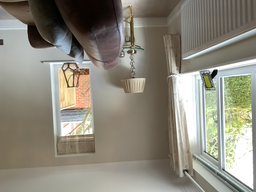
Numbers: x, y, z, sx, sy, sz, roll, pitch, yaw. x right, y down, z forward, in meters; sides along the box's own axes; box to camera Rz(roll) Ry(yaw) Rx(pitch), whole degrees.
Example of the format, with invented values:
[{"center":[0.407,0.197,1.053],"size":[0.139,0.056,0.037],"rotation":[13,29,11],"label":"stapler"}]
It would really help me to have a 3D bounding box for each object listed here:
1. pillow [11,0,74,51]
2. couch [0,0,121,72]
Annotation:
[{"center":[-0.440,-0.530,1.150],"size":[0.200,0.490,0.410],"rotation":[-2,-178,-4],"label":"pillow"},{"center":[-0.510,-0.680,1.510],"size":[0.880,0.870,1.420],"rotation":[-2,-178,-2],"label":"couch"}]
